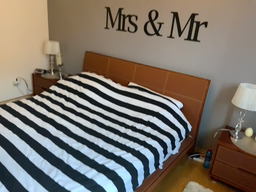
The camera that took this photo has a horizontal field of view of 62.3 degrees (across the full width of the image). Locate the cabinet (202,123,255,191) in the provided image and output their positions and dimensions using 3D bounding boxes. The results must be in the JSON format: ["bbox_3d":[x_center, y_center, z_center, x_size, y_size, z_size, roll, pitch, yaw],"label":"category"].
[{"bbox_3d":[1.120,0.630,2.000,0.620,0.440,0.430,19,25,31],"label":"cabinet"}]
